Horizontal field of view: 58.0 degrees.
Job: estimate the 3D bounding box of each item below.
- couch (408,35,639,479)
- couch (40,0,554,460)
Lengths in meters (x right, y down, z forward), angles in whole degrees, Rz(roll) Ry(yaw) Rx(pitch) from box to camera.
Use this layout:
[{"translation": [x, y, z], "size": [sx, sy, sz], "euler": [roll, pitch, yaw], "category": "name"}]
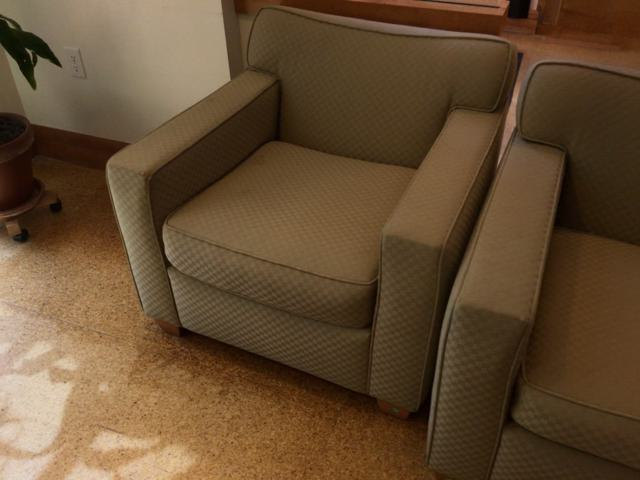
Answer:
[{"translation": [0.750, 0.110, 1.250], "size": [0.880, 0.770, 0.880], "euler": [12, 38, 18], "category": "couch"}, {"translation": [0.020, -0.150, 1.620], "size": [0.930, 0.780, 0.890], "euler": [15, 39, 22], "category": "couch"}]
